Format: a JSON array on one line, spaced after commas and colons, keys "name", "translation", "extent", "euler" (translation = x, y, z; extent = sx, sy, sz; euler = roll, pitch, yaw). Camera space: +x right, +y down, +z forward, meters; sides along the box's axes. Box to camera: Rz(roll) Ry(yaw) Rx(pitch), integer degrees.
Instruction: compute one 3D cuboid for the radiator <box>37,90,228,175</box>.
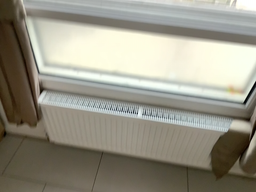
[{"name": "radiator", "translation": [0.000, 0.260, 1.360], "extent": [1.040, 0.550, 0.070], "euler": [8, 44, 4]}]
